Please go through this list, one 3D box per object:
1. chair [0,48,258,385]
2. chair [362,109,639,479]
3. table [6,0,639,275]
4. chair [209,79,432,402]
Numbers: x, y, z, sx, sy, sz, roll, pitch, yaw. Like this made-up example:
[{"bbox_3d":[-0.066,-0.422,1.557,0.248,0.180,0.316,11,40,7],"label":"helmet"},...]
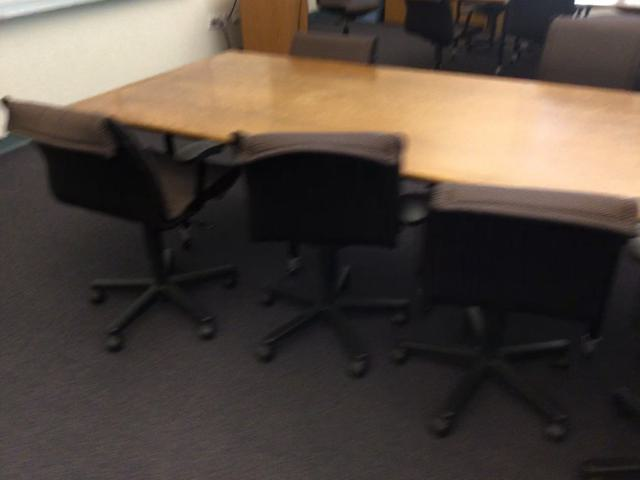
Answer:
[{"bbox_3d":[-0.670,-0.120,2.140,0.600,0.940,0.650,16,34,22],"label":"chair"},{"bbox_3d":[0.520,0.160,1.710,0.640,0.870,0.580,9,32,12],"label":"chair"},{"bbox_3d":[0.890,-0.490,2.090,3.760,0.360,1.550,16,34,22],"label":"table"},{"bbox_3d":[0.000,0.000,1.950,0.570,0.910,0.540,3,31,1],"label":"chair"}]
